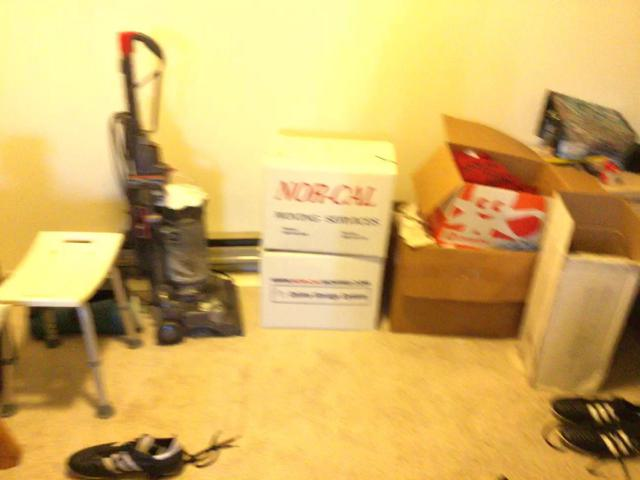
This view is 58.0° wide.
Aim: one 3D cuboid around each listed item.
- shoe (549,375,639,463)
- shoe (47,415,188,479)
[{"bbox_3d":[0.900,0.540,1.740,0.340,0.120,0.220,4,23,8],"label":"shoe"},{"bbox_3d":[-0.530,0.620,1.520,0.310,0.100,0.340,-1,22,-5],"label":"shoe"}]
